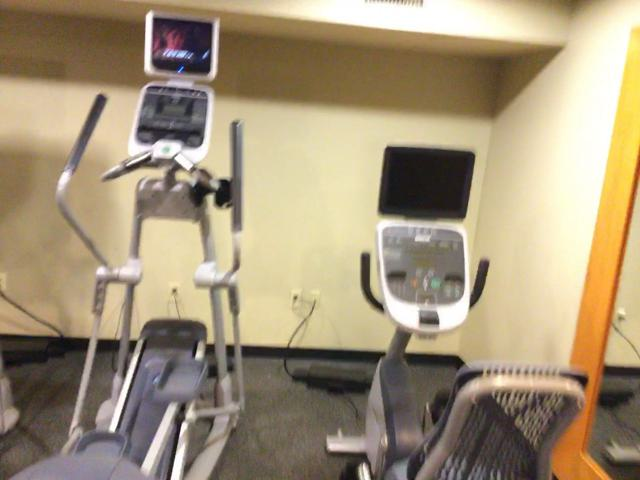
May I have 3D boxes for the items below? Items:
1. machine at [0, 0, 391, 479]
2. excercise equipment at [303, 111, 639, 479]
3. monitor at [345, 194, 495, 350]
[{"bbox_3d":[-0.580,0.140,1.800,0.920,1.860,1.950,3,13,-11],"label":"machine"},{"bbox_3d":[0.390,0.360,2.000,0.720,1.500,1.500,3,11,-6],"label":"excercise equipment"},{"bbox_3d":[0.380,0.120,2.190,0.360,0.460,0.080,38,-4,-8],"label":"monitor"}]
